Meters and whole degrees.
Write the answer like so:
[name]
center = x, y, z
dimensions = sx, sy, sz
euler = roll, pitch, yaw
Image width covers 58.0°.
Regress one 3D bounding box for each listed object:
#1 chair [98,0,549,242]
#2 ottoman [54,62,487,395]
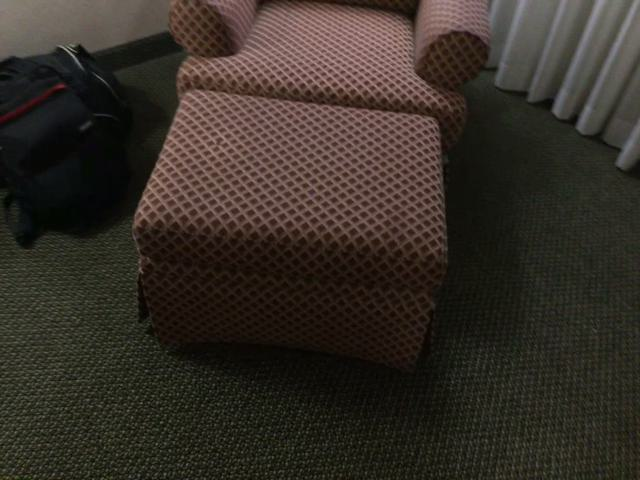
[chair]
center = 0.040, -0.700, 1.760
dimensions = 0.990, 0.850, 0.950
euler = 9, 48, 4
[ottoman]
center = -0.080, -0.050, 1.470
dimensions = 0.820, 0.430, 0.660
euler = 6, 47, 1
